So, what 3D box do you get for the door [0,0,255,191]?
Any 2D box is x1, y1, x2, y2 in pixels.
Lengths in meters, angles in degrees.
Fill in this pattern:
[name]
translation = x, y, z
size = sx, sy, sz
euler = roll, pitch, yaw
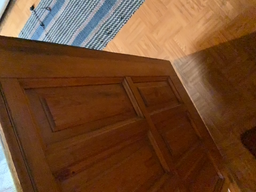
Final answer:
[door]
translation = -0.200, 0.210, 0.170
size = 0.160, 2.120, 0.930
euler = -36, 76, 28
